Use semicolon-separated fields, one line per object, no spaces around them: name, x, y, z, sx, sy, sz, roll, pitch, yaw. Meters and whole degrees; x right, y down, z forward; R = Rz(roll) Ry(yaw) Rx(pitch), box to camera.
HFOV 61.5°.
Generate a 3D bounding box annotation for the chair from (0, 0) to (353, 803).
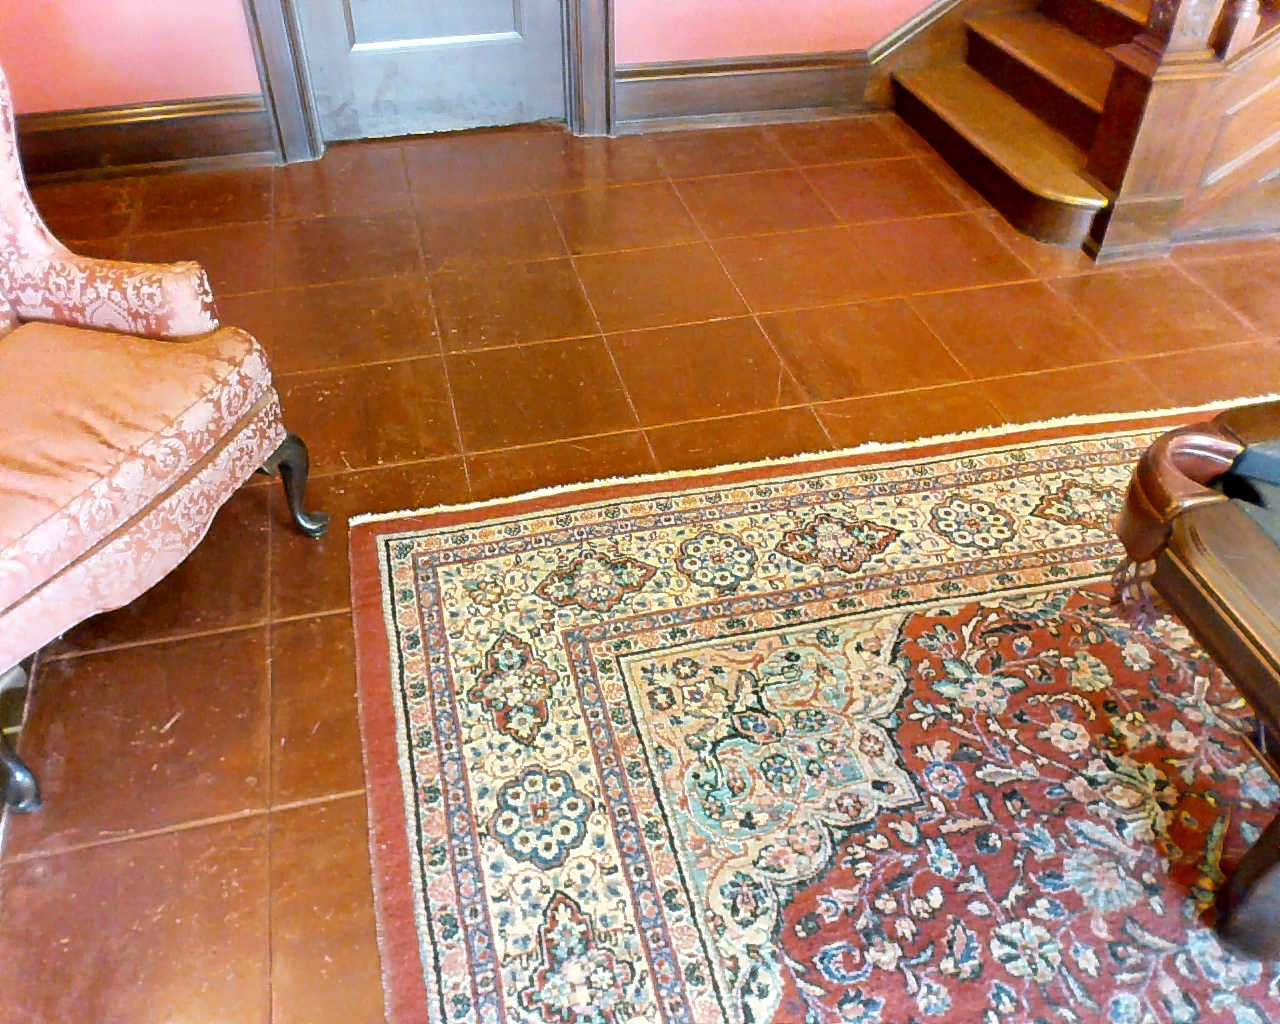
chair;-1.170;-0.300;1.840;0.810;1.120;0.830;20;45;19
